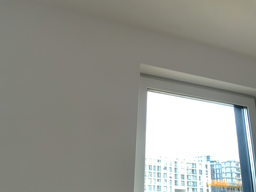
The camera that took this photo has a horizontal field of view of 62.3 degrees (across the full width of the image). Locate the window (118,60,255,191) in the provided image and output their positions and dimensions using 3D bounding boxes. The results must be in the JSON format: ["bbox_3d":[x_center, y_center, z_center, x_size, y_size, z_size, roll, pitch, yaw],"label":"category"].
[{"bbox_3d":[0.470,0.930,1.220,1.110,2.250,0.160,10,-21,-14],"label":"window"}]
